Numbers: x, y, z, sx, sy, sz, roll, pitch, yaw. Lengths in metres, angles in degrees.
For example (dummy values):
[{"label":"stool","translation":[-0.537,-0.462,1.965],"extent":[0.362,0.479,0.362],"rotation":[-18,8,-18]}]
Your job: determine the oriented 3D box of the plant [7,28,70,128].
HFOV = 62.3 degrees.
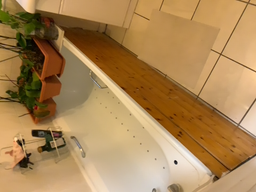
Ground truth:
[{"label":"plant","translation":[-0.750,-0.150,1.710],"extent":[0.510,0.250,0.590],"rotation":[44,123,37]}]
